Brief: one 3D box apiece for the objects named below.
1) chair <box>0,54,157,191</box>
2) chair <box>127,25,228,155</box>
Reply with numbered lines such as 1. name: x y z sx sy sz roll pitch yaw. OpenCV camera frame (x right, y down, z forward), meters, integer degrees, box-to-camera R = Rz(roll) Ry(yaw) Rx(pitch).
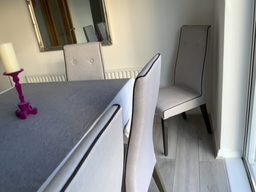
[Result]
1. chair: -0.180 0.350 1.210 0.590 1.020 0.500 -3 23 11
2. chair: 0.490 -0.100 2.070 0.740 1.020 0.480 -17 24 -22
